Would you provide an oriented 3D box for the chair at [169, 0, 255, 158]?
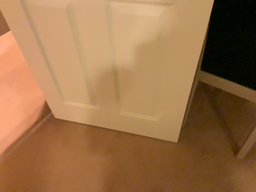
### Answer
[{"bbox_3d":[0.520,-0.250,0.910,0.430,1.030,0.460,23,54,22],"label":"chair"}]
